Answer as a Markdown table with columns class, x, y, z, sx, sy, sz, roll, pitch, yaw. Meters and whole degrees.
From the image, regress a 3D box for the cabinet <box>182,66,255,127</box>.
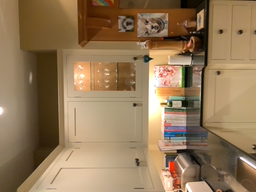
| class | x | y | z | sx | sy | sz | roll | pitch | yaw |
| --- | --- | --- | --- | --- | --- | --- | --- | --- | --- |
| cabinet | 1.110 | -0.020 | 2.280 | 0.630 | 0.860 | 0.560 | -111 | 21 | -84 |

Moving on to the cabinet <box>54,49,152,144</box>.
| class | x | y | z | sx | sy | sz | roll | pitch | yaw |
| --- | --- | --- | --- | --- | --- | --- | --- | --- | --- |
| cabinet | -0.260 | 0.000 | 2.360 | 0.380 | 0.970 | 0.970 | -111 | 21 | -84 |
